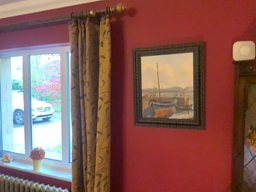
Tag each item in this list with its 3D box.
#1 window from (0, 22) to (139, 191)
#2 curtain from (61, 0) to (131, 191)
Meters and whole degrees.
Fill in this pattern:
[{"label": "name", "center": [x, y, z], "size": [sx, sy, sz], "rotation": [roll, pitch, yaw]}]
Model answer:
[{"label": "window", "center": [-0.820, 0.130, 2.310], "size": [1.900, 1.610, 0.170], "rotation": [1, 3, 20]}, {"label": "curtain", "center": [-0.260, 0.440, 1.800], "size": [0.440, 2.300, 0.360], "rotation": [2, 3, 26]}]
